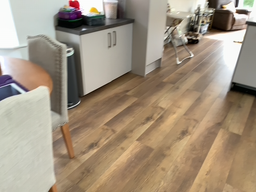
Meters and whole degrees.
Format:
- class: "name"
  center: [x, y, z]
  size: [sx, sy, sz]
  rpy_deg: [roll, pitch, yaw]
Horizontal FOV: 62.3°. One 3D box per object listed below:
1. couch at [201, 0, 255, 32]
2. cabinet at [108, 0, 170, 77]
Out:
- class: "couch"
  center: [3.030, -2.580, 6.430]
  size: [1.170, 0.970, 0.850]
  rpy_deg: [-16, 34, -29]
- class: "cabinet"
  center: [0.170, -1.420, 2.960]
  size: [0.640, 2.110, 0.630]
  rpy_deg: [21, 34, 30]
